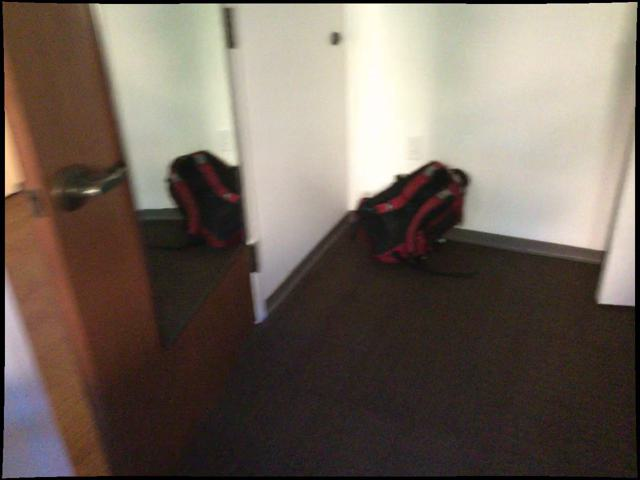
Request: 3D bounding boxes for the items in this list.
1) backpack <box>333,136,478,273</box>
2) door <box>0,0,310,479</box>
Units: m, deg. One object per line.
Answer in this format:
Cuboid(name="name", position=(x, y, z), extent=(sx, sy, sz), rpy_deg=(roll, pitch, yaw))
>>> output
Cuboid(name="backpack", position=(0.399, -0.160, 2.660), extent=(0.450, 0.390, 0.330), rpy_deg=(-25, 14, 36))
Cuboid(name="door", position=(-0.389, -0.070, 1.590), extent=(0.240, 1.453, 0.960), rpy_deg=(10, 32, 23))
